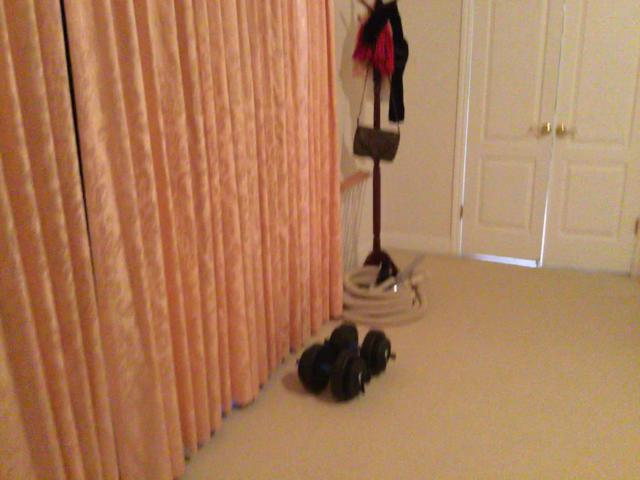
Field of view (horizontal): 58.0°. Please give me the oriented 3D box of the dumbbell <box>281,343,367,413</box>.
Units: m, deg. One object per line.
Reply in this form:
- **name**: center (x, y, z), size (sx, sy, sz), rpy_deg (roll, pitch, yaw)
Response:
- **dumbbell**: center (0.020, 0.580, 2.460), size (0.290, 0.190, 0.190), rpy_deg (0, 17, 26)

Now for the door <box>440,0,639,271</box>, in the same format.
- **door**: center (1.420, -0.850, 3.520), size (1.250, 2.010, 0.120), rpy_deg (7, 21, 23)
